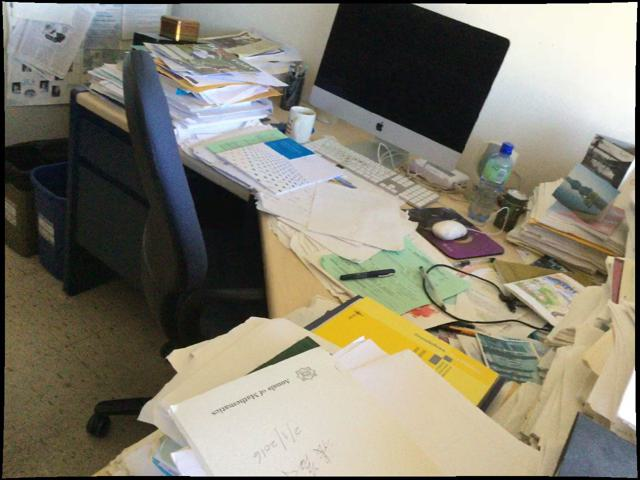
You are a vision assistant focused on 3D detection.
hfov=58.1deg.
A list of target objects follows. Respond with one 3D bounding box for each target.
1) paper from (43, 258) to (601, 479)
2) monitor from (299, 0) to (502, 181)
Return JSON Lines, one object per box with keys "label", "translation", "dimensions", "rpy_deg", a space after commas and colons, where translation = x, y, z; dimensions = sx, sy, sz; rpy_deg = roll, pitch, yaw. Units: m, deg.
{"label": "paper", "translation": [0.010, 0.251, 0.620], "dimensions": [0.420, 0.190, 0.390], "rpy_deg": [28, 32, 27]}
{"label": "monitor", "translation": [0.209, -0.481, 1.730], "dimensions": [0.539, 0.441, 0.110], "rpy_deg": [25, 30, 28]}
